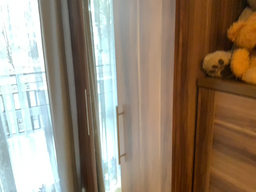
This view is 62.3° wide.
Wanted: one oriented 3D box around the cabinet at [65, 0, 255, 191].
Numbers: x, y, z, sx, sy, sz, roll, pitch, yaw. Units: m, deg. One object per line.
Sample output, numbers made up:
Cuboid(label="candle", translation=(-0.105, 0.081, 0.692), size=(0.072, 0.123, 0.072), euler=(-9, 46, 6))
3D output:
Cuboid(label="cabinet", translation=(0.090, 0.130, 1.500), size=(0.580, 2.000, 1.150), euler=(-10, 18, -31))
